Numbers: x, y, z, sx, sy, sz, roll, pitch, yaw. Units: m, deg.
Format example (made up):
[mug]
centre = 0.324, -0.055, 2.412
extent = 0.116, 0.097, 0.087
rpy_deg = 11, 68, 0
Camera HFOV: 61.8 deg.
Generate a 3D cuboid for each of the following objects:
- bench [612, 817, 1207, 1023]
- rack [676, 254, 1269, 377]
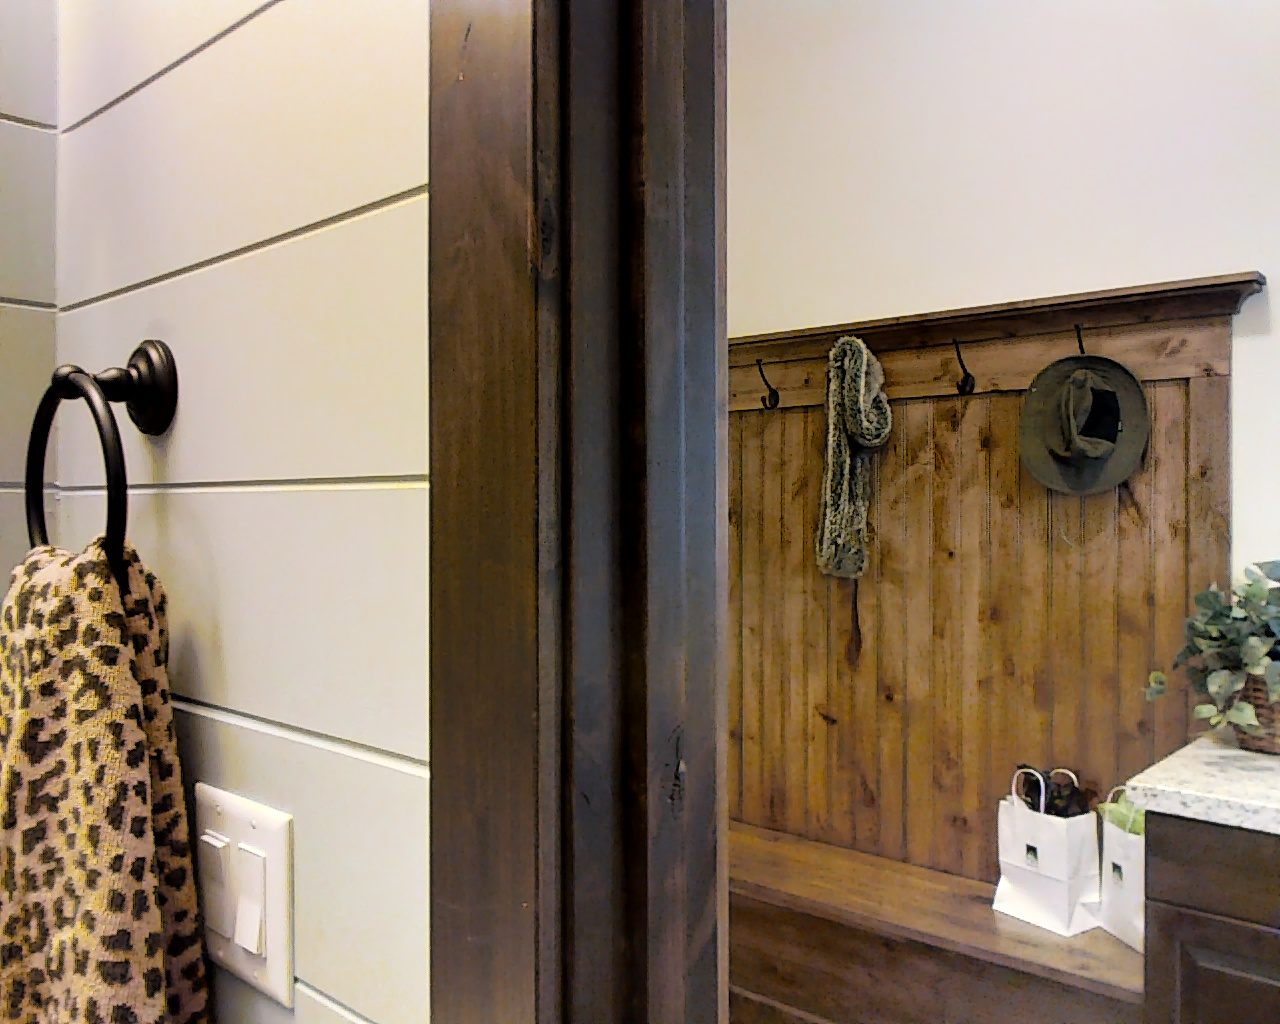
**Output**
[bench]
centre = 0.580, 1.150, 2.650
extent = 1.410, 0.460, 0.370
rpy_deg = -1, 0, 41
[rack]
centre = 0.720, -0.470, 2.730
extent = 1.530, 0.100, 0.100
rpy_deg = -1, 0, 41
